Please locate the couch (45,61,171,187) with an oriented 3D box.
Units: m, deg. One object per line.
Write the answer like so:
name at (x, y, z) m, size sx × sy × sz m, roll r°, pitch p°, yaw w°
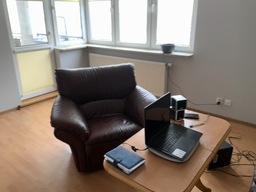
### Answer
couch at (-0.280, 0.190, 2.420) m, size 1.120 × 0.940 × 0.950 m, roll -8°, pitch 21°, yaw -19°
